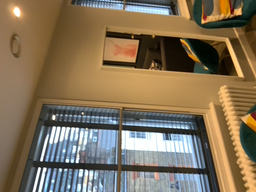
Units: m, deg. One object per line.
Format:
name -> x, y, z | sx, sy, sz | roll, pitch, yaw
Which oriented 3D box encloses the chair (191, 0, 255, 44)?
chair -> 1.170, -1.060, 2.340 | 0.760, 0.680, 0.630 | 119, 154, -78
